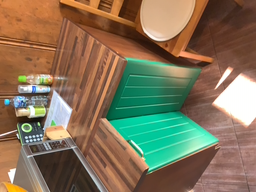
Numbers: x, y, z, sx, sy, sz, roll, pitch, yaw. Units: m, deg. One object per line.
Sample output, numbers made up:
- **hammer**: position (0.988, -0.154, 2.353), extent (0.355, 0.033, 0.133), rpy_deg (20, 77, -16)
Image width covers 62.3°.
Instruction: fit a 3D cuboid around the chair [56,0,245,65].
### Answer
- **chair**: position (0.170, -0.500, 1.180), extent (0.500, 0.890, 0.400), rpy_deg (40, 118, 36)
